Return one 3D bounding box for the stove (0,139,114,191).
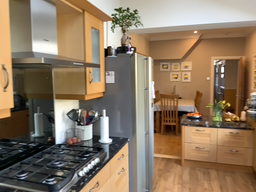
[{"bbox_3d":[-0.510,0.470,1.560,0.590,0.050,0.730,2,6,16],"label":"stove"}]
